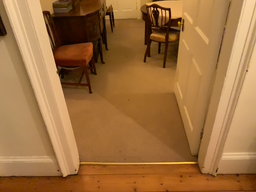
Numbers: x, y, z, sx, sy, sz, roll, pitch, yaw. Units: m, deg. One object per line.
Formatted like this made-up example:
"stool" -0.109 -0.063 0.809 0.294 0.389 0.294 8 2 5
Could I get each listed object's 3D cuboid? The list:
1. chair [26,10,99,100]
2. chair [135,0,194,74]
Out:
"chair" -0.700 -0.480 2.540 0.540 0.910 0.540 -1 34 2
"chair" 0.510 -0.890 3.120 0.570 0.840 0.550 27 45 35
